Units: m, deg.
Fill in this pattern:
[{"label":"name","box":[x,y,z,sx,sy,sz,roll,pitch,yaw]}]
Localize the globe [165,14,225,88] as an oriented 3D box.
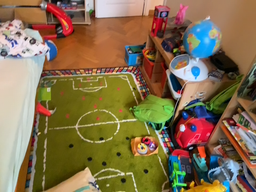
[{"label":"globe","box":[0.450,-0.310,1.510,0.200,0.450,0.240,-3,43,-13]}]
